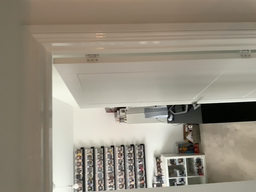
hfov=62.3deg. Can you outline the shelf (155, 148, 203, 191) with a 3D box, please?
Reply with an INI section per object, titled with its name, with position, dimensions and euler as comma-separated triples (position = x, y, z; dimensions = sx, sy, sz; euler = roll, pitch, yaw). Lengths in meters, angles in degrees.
[shelf]
position = 0.990, 1.800, 4.110
dimensions = 0.420, 0.760, 1.460
euler = 129, 138, -83
